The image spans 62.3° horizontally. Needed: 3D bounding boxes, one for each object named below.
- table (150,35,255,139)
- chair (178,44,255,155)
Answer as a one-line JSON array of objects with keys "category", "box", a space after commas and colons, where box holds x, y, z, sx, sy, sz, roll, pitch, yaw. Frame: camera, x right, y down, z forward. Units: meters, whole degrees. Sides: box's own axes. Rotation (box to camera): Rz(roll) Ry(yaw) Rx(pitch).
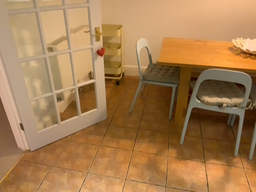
[{"category": "table", "box": [1.150, -0.120, 2.320, 1.660, 0.750, 0.800, 8, 32, 11]}, {"category": "chair", "box": [0.830, 0.020, 1.990, 0.560, 0.820, 0.510, 9, 32, 13]}]
